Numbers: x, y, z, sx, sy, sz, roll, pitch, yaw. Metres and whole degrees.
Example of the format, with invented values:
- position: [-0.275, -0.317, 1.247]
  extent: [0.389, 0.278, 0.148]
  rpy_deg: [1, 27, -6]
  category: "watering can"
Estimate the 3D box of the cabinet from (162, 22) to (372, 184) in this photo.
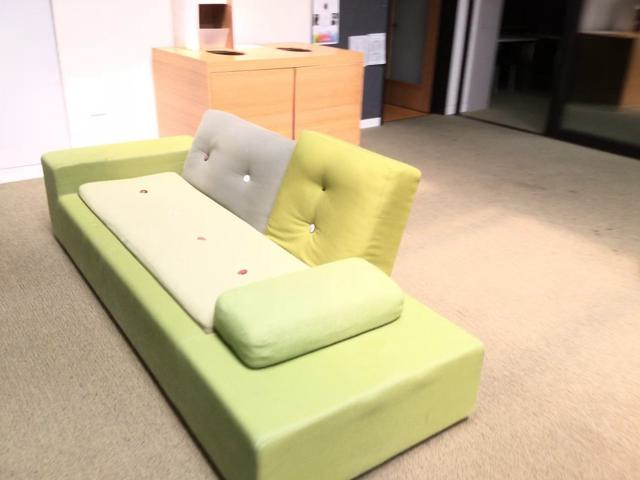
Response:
- position: [-0.400, -1.050, 4.280]
  extent: [1.270, 0.930, 0.770]
  rpy_deg: [-13, 30, -35]
  category: "cabinet"
